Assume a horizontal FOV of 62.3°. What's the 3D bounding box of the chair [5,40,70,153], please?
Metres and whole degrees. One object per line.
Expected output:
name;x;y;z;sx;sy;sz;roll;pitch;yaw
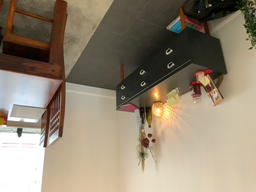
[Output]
chair;-0.970;0.030;2.350;0.500;1.130;0.440;7;157;-24

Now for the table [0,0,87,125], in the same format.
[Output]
table;-1.080;-0.250;2.110;0.940;0.750;1.340;8;157;-27
